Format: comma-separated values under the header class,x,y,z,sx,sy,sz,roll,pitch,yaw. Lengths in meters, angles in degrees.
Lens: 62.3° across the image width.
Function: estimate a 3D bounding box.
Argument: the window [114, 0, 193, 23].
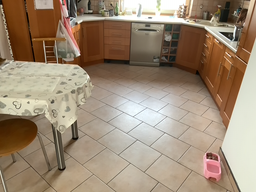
class,x,y,z,sx,sy,sz,roll,pitch,yaw
window,0.530,-2.320,4.160,1.570,1.580,0.260,4,28,2
